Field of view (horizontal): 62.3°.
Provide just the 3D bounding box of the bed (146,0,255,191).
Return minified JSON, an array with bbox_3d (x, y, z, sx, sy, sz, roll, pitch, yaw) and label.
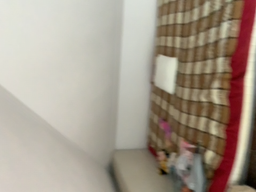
[{"bbox_3d":[0.700,-0.190,2.110,1.540,0.400,2.090,-149,63,-74],"label":"bed"}]
